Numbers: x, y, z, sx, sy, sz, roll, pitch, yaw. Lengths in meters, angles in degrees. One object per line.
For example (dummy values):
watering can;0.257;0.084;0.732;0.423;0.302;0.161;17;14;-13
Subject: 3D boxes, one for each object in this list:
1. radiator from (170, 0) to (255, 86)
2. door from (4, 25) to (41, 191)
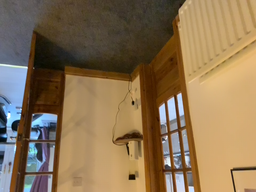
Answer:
radiator;0.510;-0.480;1.260;0.150;0.640;0.640;5;159;-19
door;-0.940;0.510;1.860;0.110;2.040;0.890;6;159;-23
